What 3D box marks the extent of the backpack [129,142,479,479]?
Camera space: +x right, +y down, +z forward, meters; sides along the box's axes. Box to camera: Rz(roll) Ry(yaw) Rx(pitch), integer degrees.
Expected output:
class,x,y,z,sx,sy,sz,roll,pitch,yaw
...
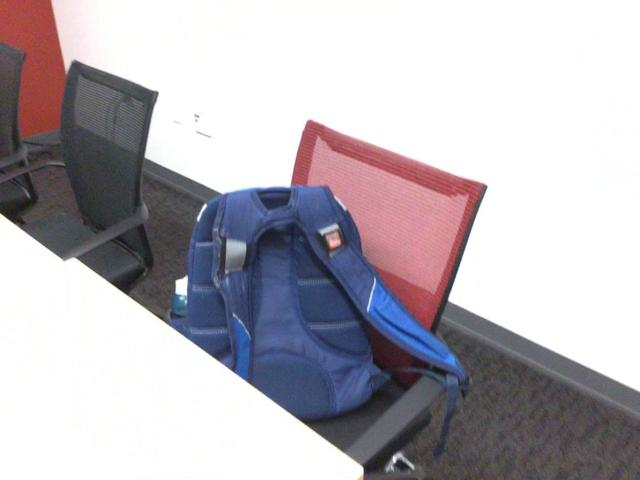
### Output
class,x,y,z,sx,sy,sz,roll,pitch,yaw
backpack,-0.040,0.130,1.060,0.480,0.440,0.330,25,38,36

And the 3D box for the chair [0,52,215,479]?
class,x,y,z,sx,sy,sz,roll,pitch,yaw
chair,-0.720,0.040,1.630,0.570,0.950,0.540,25,37,36
